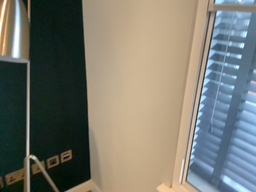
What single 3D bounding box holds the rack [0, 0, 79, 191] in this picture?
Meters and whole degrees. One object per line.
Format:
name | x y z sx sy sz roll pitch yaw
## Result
rack | -0.540 0.220 1.090 0.340 1.740 0.510 -16 29 -36
